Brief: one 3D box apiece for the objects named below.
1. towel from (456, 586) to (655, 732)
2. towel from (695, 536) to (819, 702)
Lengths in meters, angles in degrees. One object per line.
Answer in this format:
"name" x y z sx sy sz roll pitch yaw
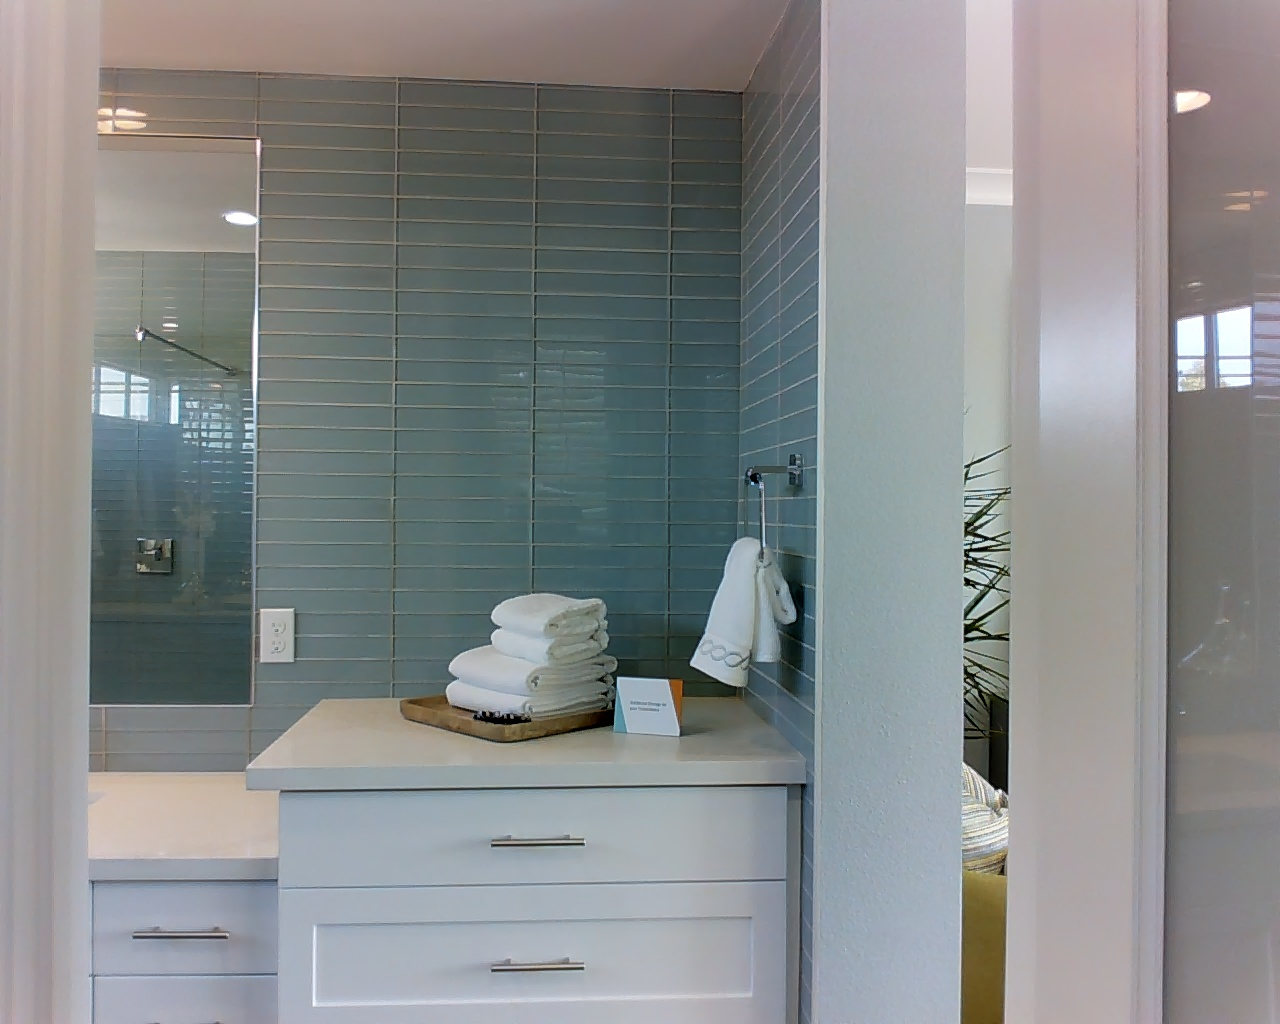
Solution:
"towel" -0.170 0.280 2.140 0.290 0.240 0.270 1 0 -38
"towel" 0.200 0.180 1.870 0.180 0.270 0.180 1 0 -4
